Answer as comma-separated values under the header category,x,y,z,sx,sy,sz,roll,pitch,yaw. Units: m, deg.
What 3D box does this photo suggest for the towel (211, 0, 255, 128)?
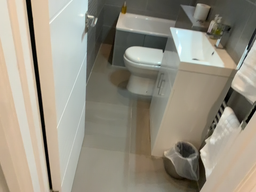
category,x,y,z,sx,sy,sz,roll,pitch,yaw
towel,0.530,-0.140,0.870,0.140,0.480,0.260,9,36,-2

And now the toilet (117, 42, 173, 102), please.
category,x,y,z,sx,sy,sz,roll,pitch,yaw
toilet,0.170,-0.270,2.360,0.500,0.460,0.380,9,36,-2

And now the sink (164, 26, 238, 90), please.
category,x,y,z,sx,sy,sz,roll,pitch,yaw
sink,0.460,-0.300,1.490,0.350,0.130,0.640,9,35,-1

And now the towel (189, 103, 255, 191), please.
category,x,y,z,sx,sy,sz,roll,pitch,yaw
towel,0.490,0.320,1.200,0.090,0.450,0.320,8,36,-4
